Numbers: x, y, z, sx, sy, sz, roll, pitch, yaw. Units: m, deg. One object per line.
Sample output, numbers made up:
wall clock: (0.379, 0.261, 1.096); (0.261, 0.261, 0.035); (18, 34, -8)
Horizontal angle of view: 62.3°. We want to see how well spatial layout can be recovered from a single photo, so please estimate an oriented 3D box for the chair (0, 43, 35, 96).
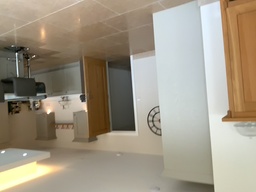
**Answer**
chair: (-2.120, -0.480, 4.060); (0.450, 0.930, 0.380); (-4, 179, 31)
